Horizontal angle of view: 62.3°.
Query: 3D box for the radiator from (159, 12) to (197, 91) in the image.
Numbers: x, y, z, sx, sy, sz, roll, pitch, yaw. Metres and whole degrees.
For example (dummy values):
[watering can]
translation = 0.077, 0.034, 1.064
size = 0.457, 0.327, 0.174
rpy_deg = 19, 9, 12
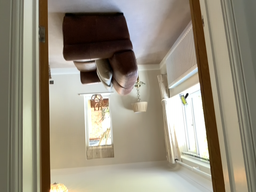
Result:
[radiator]
translation = 0.730, -0.590, 3.390
size = 0.150, 0.790, 1.390
rpy_deg = -3, 171, -3
